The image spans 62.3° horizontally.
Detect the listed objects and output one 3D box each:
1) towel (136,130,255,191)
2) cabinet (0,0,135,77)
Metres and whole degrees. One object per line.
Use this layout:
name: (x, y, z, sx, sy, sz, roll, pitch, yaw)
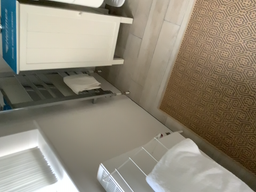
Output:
towel: (0.330, 0.370, 0.880, 0.420, 0.400, 0.140, 38, 124, 36)
cabinet: (-0.440, -0.450, 1.590, 0.420, 0.850, 0.410, 36, 123, 37)
